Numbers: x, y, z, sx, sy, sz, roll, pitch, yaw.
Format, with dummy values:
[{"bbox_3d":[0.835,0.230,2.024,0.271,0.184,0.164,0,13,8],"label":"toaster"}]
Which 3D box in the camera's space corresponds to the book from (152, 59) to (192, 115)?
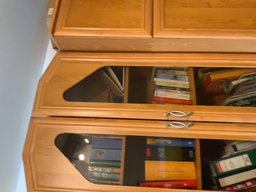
[{"bbox_3d":[0.270,-0.040,1.380,0.340,0.200,0.270,77,-165,-75],"label":"book"}]
